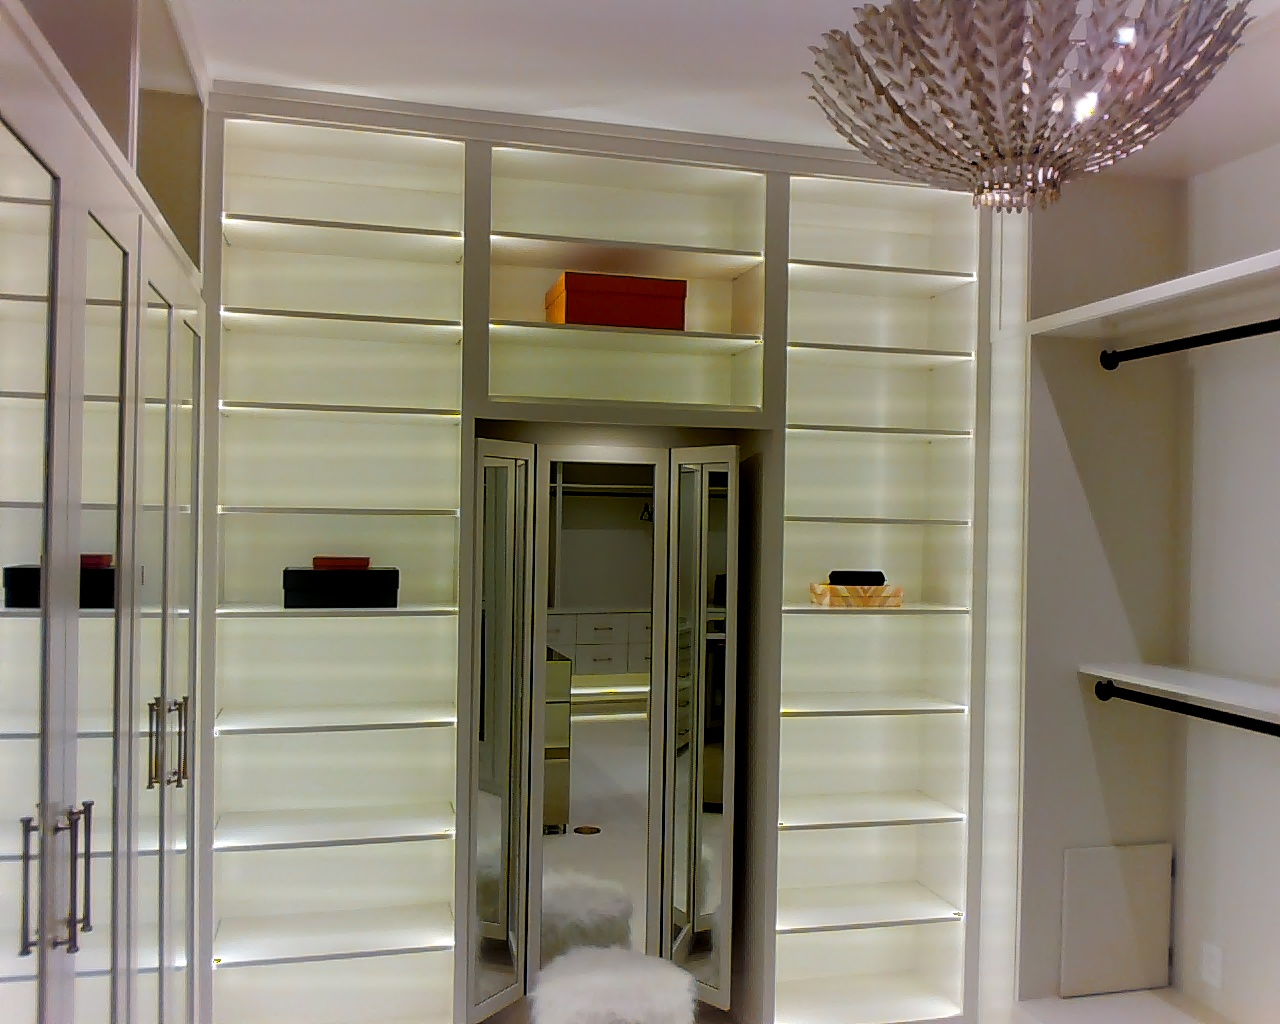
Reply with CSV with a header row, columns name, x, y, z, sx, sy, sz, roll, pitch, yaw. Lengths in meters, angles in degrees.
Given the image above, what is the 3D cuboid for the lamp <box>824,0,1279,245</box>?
name,x,y,z,sx,sy,sz,roll,pitch,yaw
lamp,0.480,-0.500,1.330,0.480,0.210,0.490,1,0,8

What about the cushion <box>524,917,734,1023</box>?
name,x,y,z,sx,sy,sz,roll,pitch,yaw
cushion,-0.050,1.480,3.190,0.510,0.330,0.510,1,0,-14
